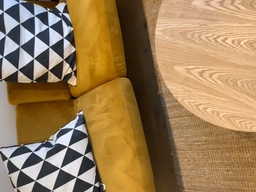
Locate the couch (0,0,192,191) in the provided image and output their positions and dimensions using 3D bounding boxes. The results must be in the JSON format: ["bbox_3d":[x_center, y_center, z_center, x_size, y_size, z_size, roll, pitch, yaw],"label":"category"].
[{"bbox_3d":[-0.300,-0.040,1.480,0.890,0.760,1.660,-16,81,44],"label":"couch"}]

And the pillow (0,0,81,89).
[{"bbox_3d":[-0.650,-0.410,1.420,0.290,0.570,0.620,137,125,-75],"label":"pillow"}]

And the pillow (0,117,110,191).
[{"bbox_3d":[-0.440,0.520,1.360,0.340,0.590,0.610,87,174,-67],"label":"pillow"}]
